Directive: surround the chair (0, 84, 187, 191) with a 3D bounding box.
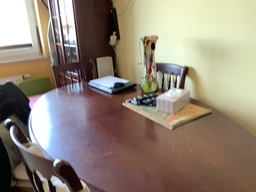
[{"bbox_3d":[-0.120,0.500,0.980,0.500,0.930,0.570,16,26,41],"label":"chair"}]

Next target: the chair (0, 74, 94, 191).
[{"bbox_3d":[-0.580,0.380,1.370,0.520,0.940,0.500,0,20,7],"label":"chair"}]
